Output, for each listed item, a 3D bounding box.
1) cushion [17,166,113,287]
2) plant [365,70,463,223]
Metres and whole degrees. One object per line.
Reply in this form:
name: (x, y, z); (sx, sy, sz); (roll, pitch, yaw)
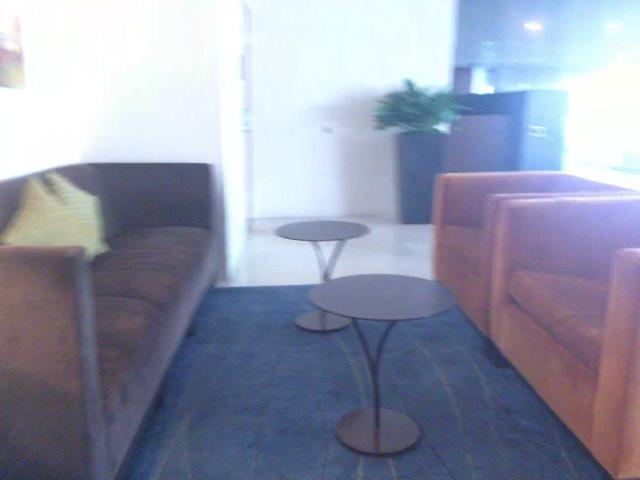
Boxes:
cushion: (-1.090, -0.060, 2.520); (0.220, 0.380, 0.350); (-4, 43, -4)
plant: (0.860, -0.870, 5.380); (0.770, 1.280, 0.690); (-3, 12, 0)
